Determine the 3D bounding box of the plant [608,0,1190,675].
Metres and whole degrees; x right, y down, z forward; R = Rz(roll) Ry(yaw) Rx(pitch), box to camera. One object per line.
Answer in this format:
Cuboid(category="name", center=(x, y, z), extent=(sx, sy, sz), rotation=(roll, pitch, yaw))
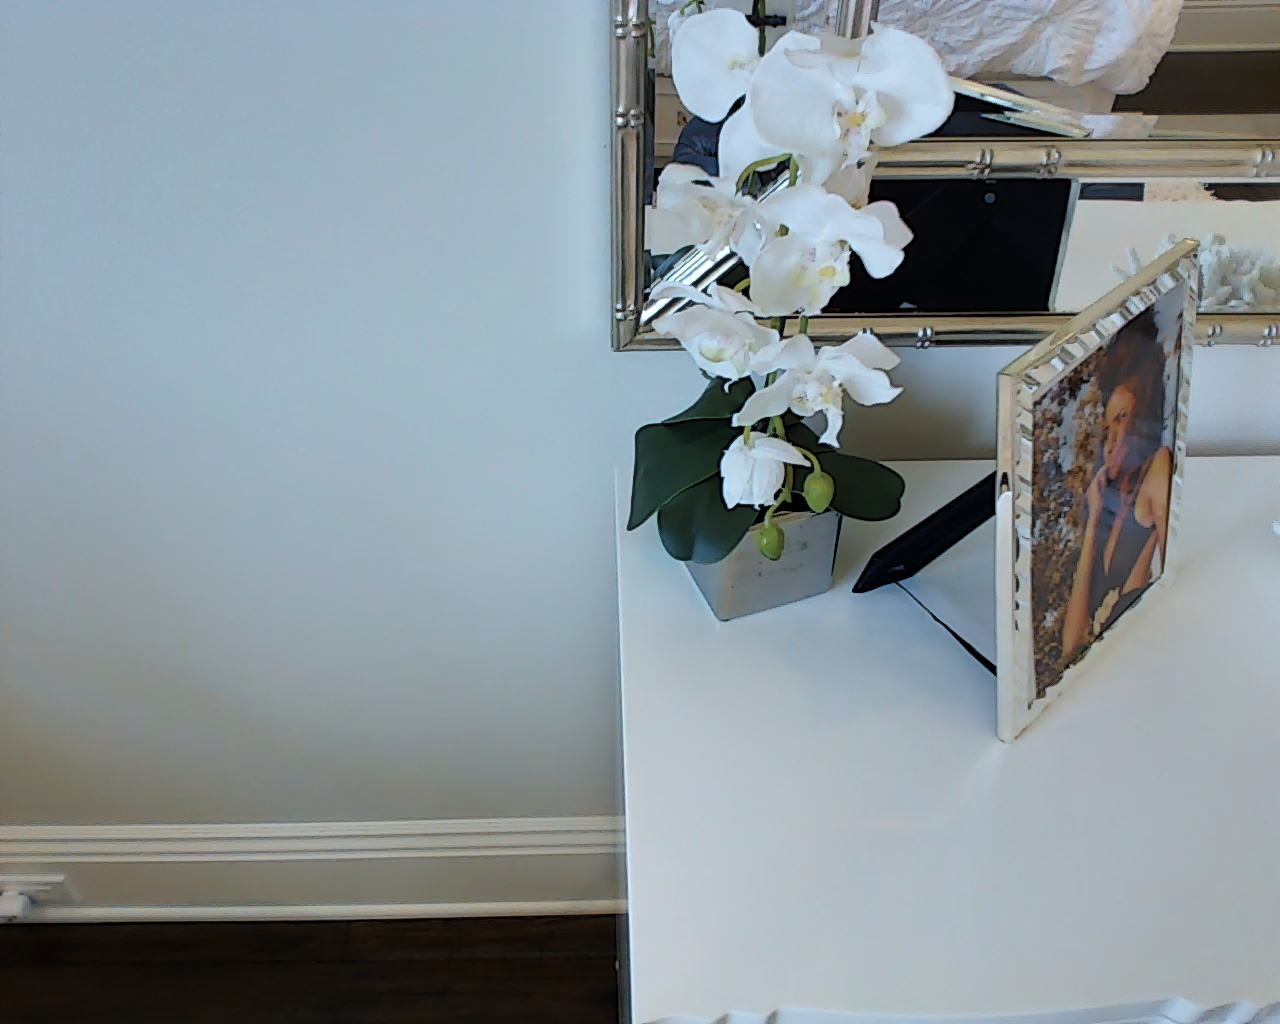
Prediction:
Cuboid(category="plant", center=(0.120, -0.130, 0.740), extent=(0.270, 0.480, 0.210), rotation=(-2, 42, -3))
